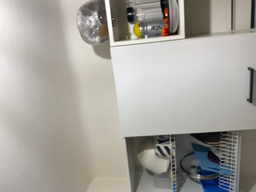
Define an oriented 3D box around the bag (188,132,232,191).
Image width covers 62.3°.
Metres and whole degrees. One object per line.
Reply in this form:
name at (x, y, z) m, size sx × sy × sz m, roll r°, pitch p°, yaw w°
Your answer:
bag at (0.440, 0.360, 1.170) m, size 0.240 × 0.170 × 0.230 m, roll -65°, pitch -29°, yaw -72°
